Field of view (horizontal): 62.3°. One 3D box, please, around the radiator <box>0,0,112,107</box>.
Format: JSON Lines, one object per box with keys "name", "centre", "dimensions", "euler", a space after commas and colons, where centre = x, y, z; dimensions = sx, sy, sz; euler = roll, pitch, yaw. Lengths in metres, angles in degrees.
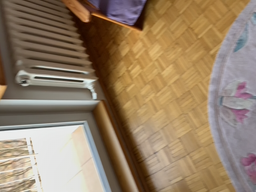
{"name": "radiator", "centre": [-0.790, -0.700, 1.840], "dimensions": [0.240, 0.680, 1.740], "euler": [-44, 61, 33]}
